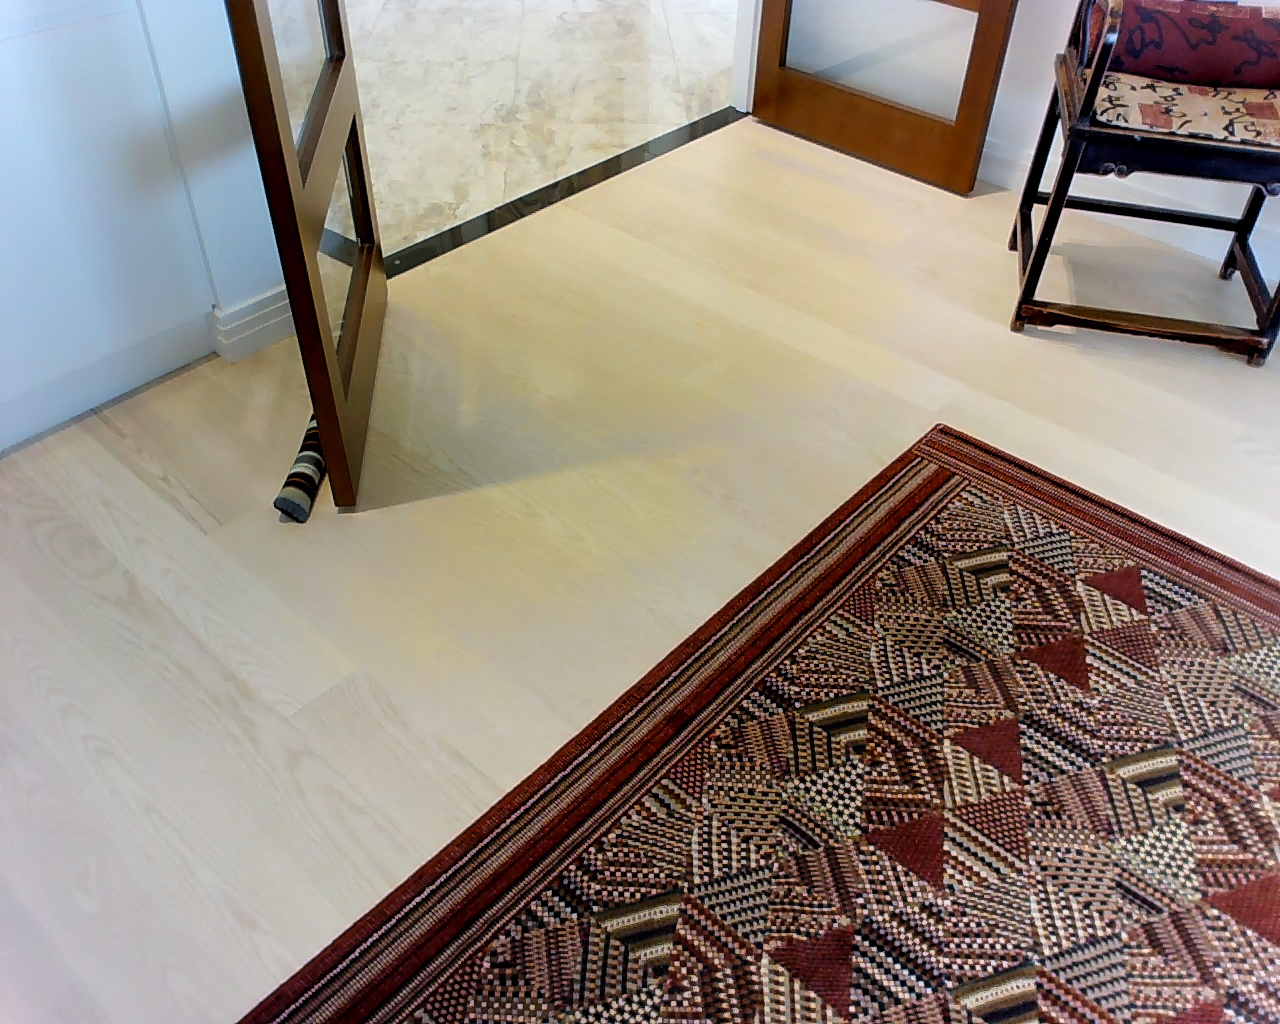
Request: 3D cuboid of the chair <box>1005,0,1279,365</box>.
[{"bbox_3d":[1.280,-0.950,2.420,0.650,1.020,0.540,11,43,11],"label":"chair"}]
